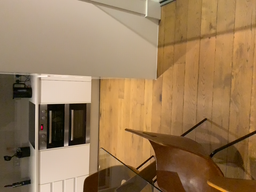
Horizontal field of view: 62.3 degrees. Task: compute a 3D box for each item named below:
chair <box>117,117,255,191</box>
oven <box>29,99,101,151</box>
[{"bbox_3d":[0.390,0.420,1.290,0.540,0.730,0.470,6,96,57],"label":"chair"},{"bbox_3d":[-0.970,0.380,3.230,0.670,0.890,0.610,6,96,57],"label":"oven"}]
